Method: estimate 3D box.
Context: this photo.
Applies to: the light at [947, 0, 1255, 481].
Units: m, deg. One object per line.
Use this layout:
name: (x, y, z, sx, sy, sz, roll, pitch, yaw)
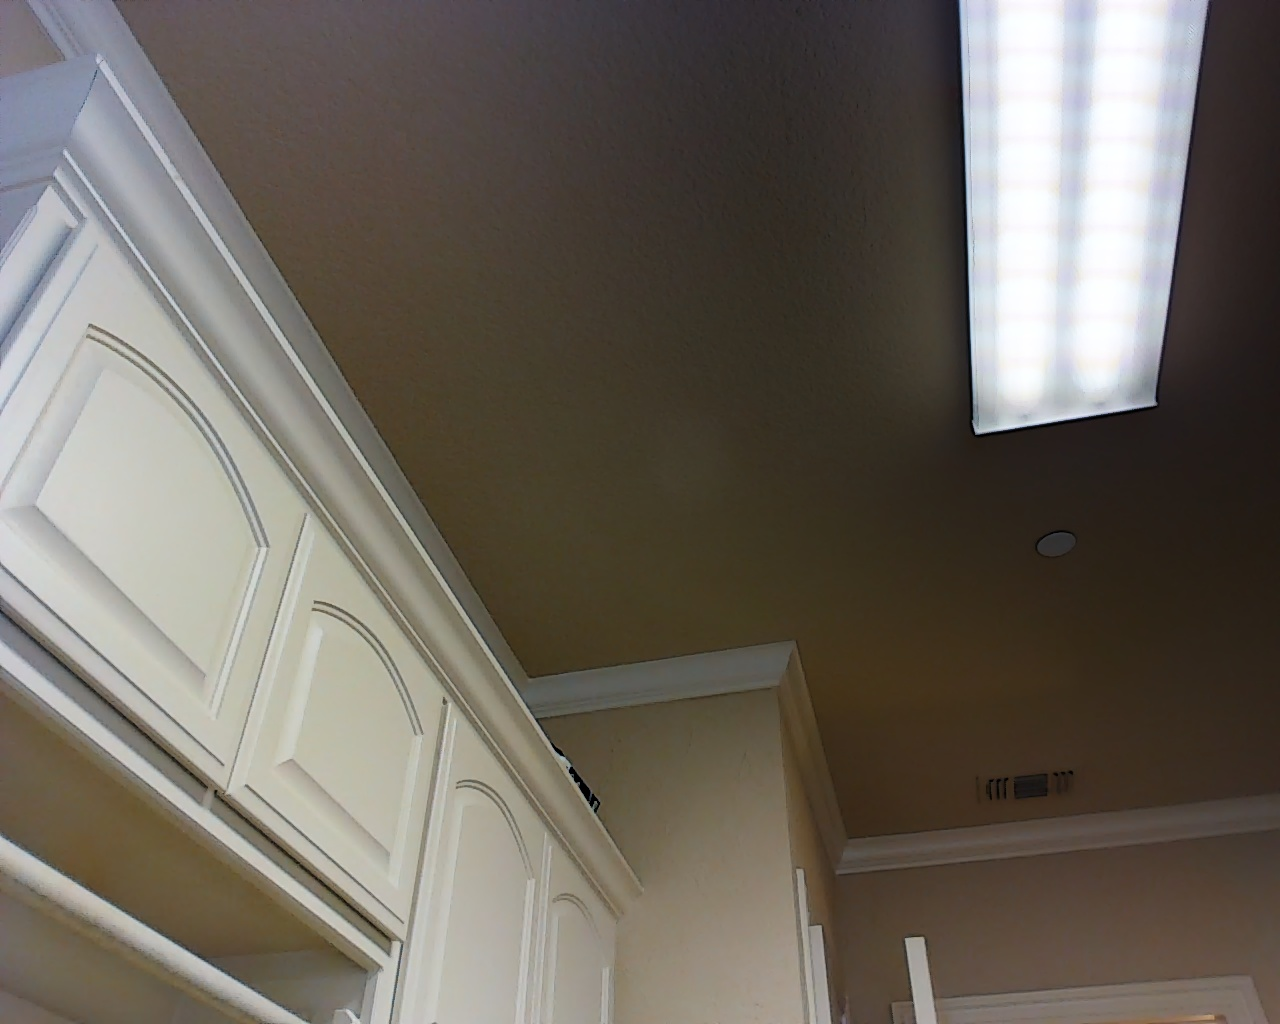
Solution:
light: (0.660, -0.560, 1.580, 0.360, 0.130, 1.320, -10, -42, 12)
